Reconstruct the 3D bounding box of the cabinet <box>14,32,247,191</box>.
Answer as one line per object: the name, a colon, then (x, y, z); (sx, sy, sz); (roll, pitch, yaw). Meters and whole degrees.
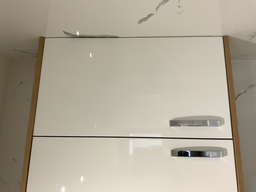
cabinet: (0.010, 0.180, 0.860); (0.250, 0.770, 0.830); (83, -172, -77)
